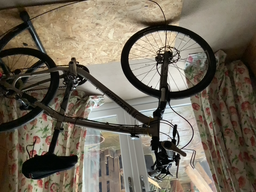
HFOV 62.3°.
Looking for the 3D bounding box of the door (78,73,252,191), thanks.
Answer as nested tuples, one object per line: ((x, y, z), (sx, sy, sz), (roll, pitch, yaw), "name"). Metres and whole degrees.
((0.340, 1.010, 1.990), (1.580, 2.610, 0.110), (-11, 150, 2), "door")
